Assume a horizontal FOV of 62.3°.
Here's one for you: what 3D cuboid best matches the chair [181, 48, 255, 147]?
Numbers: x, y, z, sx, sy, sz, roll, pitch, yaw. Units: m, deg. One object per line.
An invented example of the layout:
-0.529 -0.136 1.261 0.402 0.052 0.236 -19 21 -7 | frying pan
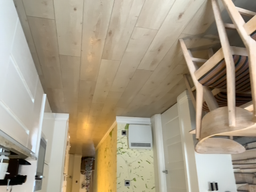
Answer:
0.890 0.050 2.040 0.480 0.800 0.530 3 159 -10 | chair
